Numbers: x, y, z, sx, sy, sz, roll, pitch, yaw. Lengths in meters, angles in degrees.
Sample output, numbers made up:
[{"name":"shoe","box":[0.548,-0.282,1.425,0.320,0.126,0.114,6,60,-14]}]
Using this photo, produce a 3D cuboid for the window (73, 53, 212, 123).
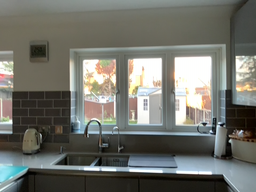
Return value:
[{"name":"window","box":[0.150,-0.080,2.570,1.640,0.800,0.120,-1,0,6]}]
